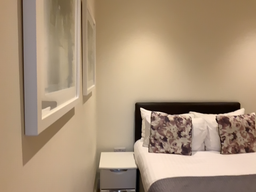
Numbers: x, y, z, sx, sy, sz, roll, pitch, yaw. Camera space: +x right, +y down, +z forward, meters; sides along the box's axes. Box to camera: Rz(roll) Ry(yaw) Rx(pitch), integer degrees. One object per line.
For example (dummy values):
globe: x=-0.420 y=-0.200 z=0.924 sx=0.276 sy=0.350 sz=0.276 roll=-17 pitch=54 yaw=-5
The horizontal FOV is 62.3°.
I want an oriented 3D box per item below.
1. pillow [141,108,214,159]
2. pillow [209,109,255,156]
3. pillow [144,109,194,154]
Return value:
pillow: x=0.520 y=0.400 z=2.390 sx=0.690 sy=0.450 sz=0.460 roll=1 pitch=6 yaw=-3
pillow: x=1.120 y=0.380 z=2.220 sx=0.430 sy=0.390 sz=0.120 roll=12 pitch=5 yaw=-8
pillow: x=0.410 y=0.360 z=2.170 sx=0.410 sy=0.350 sz=0.130 roll=13 pitch=4 yaw=-5
